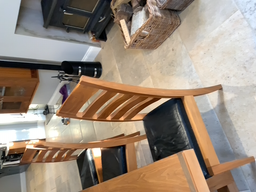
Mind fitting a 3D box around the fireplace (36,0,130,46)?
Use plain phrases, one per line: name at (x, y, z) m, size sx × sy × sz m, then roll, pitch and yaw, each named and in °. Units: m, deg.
fireplace at (-0.600, -1.160, 2.650) m, size 0.850 × 0.820 × 0.530 m, roll -40°, pitch 59°, yaw 46°
